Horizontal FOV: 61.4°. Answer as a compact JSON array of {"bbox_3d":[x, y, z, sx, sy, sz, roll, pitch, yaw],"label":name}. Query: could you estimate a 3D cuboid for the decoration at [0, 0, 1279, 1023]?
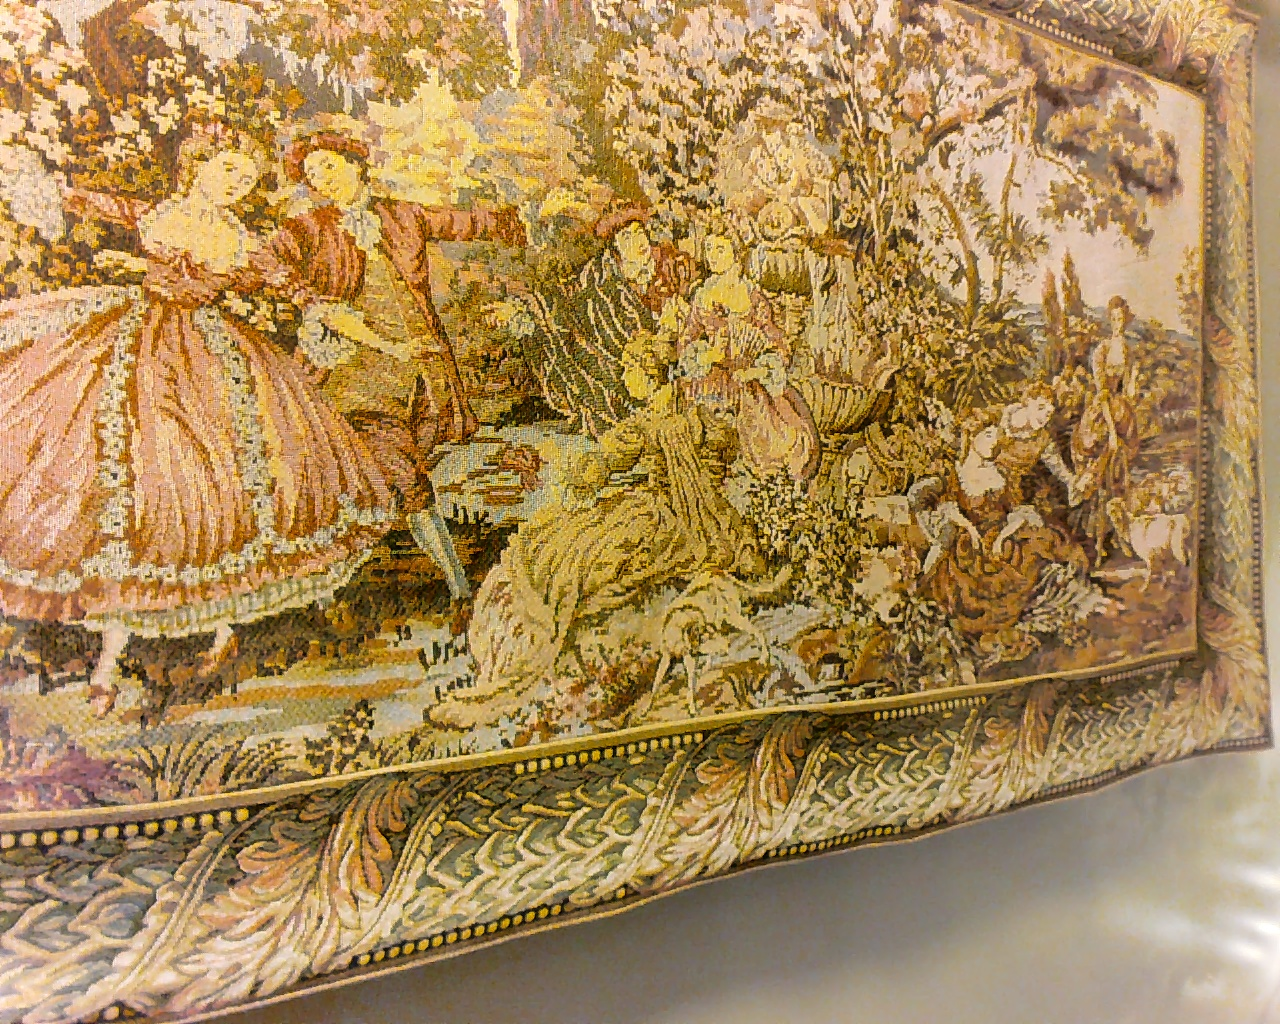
[{"bbox_3d":[0.100,-0.200,0.880,1.490,1.000,0.130,0,1,-34],"label":"decoration"}]
